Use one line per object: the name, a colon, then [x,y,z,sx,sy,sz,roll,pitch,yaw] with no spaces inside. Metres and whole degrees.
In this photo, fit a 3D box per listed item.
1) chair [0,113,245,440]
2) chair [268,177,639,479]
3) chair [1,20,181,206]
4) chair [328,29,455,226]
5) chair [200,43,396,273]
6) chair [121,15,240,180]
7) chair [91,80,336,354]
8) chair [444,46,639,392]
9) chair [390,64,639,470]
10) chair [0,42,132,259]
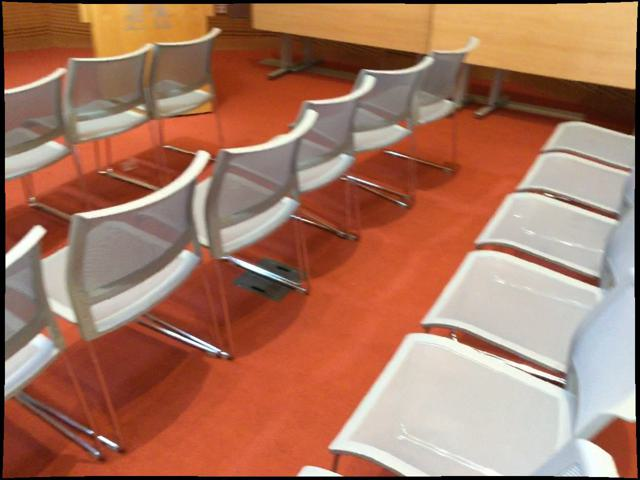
chair: [-0.639,0.070,1.760,0.570,0.680,0.530,19,36,28]
chair: [0.370,0.340,1.220,0.650,0.600,0.700,17,35,25]
chair: [-1.089,-0.641,2.830,0.520,0.691,0.500,23,38,32]
chair: [0.350,-0.571,2.810,0.280,0.721,0.720,18,36,26]
chair: [-0.070,-0.390,2.540,0.540,0.731,0.640,17,35,25]
chair: [-0.719,-0.771,3.110,0.240,0.731,0.510,22,38,31]
chair: [-0.340,-0.120,2.140,0.590,0.721,0.580,15,35,23]
chair: [0.919,-0.100,1.970,0.720,0.891,0.560,18,36,26]
chair: [0.689,0.010,1.570,0.729,0.711,0.710,16,35,24]
chair: [-1.189,-0.410,2.500,0.240,0.701,0.690,13,34,19]
